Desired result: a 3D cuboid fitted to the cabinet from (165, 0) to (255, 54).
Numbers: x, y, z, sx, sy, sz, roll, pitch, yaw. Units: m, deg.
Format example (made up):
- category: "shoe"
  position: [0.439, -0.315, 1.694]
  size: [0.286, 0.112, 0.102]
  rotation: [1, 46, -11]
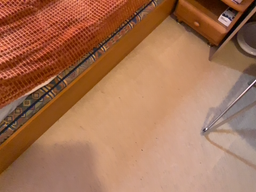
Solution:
- category: "cabinet"
  position: [0.620, -0.690, 1.480]
  size: [0.430, 0.430, 0.480]
  rotation: [41, 72, 11]
